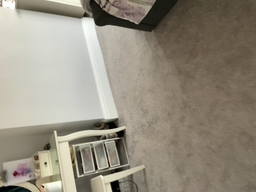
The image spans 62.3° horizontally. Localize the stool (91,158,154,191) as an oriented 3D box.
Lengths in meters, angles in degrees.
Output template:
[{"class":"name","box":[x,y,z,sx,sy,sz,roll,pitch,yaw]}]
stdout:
[{"class":"stool","box":[-0.040,0.840,1.920,0.260,0.450,0.430,-38,61,52]}]
